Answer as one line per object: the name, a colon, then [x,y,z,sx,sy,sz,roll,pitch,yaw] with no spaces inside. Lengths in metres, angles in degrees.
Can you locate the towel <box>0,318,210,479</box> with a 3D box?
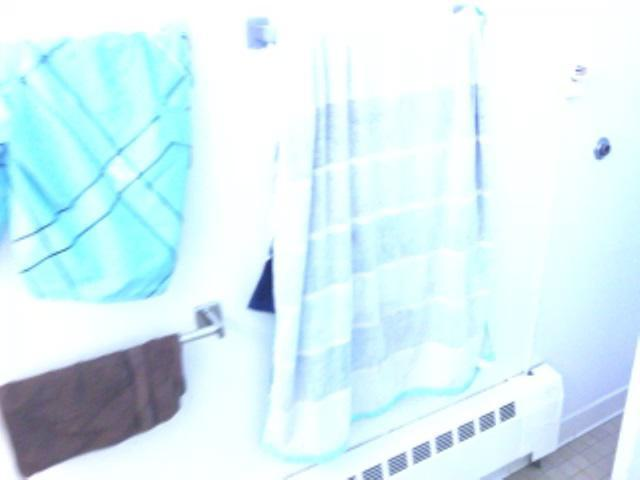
towel: [-0.390,0.290,1.040,0.340,0.180,0.100,-15,25,-25]

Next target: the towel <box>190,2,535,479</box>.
towel: [0.130,0.010,1.200,0.640,0.890,0.140,-15,25,-25]

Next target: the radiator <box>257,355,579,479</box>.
radiator: [0.220,0.650,1.510,1.120,0.360,0.100,-15,25,-23]
